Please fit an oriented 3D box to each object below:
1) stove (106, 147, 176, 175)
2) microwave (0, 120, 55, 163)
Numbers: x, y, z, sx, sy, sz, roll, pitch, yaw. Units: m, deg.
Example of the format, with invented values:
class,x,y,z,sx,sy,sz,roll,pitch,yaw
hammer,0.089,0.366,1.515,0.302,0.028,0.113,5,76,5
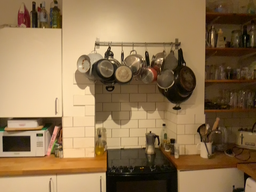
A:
class,x,y,z,sx,sy,sz,roll,pitch,yaw
stove,0.080,0.610,2.070,0.590,0.040,0.600,0,3,-6
microwave,-1.030,0.430,2.070,0.540,0.330,0.280,0,3,-7
